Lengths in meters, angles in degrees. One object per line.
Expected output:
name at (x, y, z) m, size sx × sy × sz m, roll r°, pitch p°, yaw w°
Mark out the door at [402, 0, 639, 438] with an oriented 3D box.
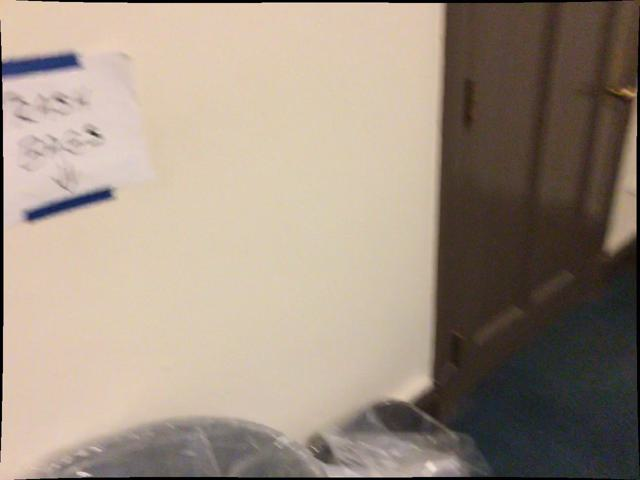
door at (0.799, -0.651, 1.750) m, size 1.489 × 2.251 × 0.120 m, roll -25°, pitch 35°, yaw -35°
